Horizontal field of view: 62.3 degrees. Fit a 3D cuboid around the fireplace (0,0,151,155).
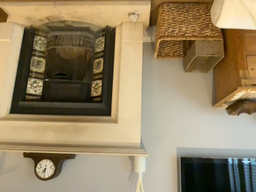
[{"bbox_3d":[-0.610,-0.160,1.940,1.600,1.290,0.540,1,166,3],"label":"fireplace"}]
